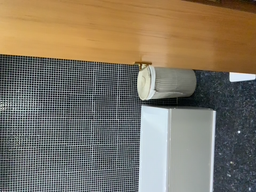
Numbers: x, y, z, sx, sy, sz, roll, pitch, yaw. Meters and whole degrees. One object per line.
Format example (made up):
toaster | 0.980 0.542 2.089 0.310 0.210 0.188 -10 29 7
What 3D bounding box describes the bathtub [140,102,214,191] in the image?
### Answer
bathtub | 0.520 0.930 2.470 0.750 0.520 1.710 180 91 -73
